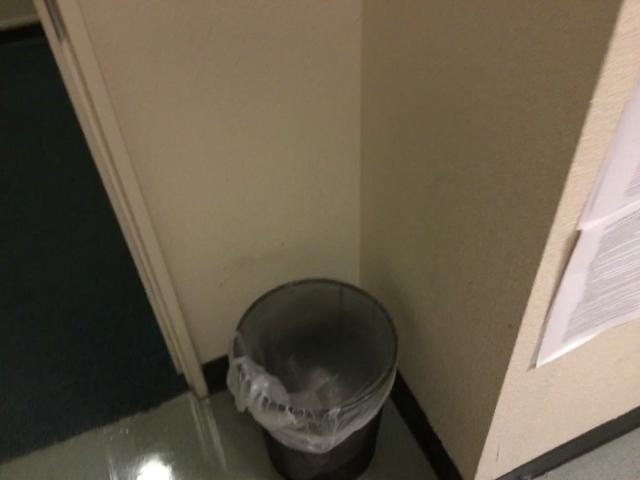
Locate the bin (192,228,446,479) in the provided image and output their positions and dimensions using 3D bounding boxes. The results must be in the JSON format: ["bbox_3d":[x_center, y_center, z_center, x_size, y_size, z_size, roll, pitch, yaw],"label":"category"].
[{"bbox_3d":[-0.010,0.280,1.180,0.350,0.370,0.380,-18,45,-13],"label":"bin"}]
